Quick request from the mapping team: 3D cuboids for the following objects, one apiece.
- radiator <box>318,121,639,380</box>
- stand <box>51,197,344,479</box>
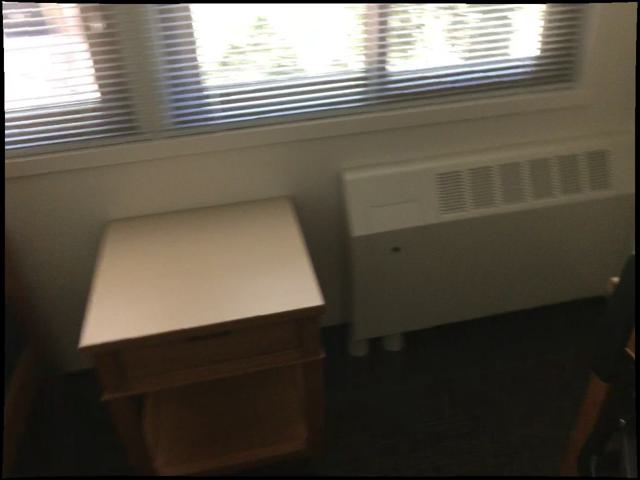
[{"bbox_3d":[0.509,0.040,1.830,0.958,0.641,0.200,-11,34,-8],"label":"radiator"},{"bbox_3d":[-0.299,0.311,1.590,0.579,0.581,0.530,-11,34,-8],"label":"stand"}]
